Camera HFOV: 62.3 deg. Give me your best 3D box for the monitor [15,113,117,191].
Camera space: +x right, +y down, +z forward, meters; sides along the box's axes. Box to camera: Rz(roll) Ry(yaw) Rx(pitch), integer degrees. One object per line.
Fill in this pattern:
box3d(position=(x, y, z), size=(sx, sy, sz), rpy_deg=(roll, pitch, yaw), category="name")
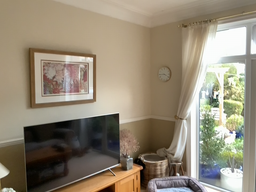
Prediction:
box3d(position=(-0.610, 0.630, 2.470), size=(0.090, 0.730, 1.250), rpy_deg=(4, 6, 44), category="monitor")
